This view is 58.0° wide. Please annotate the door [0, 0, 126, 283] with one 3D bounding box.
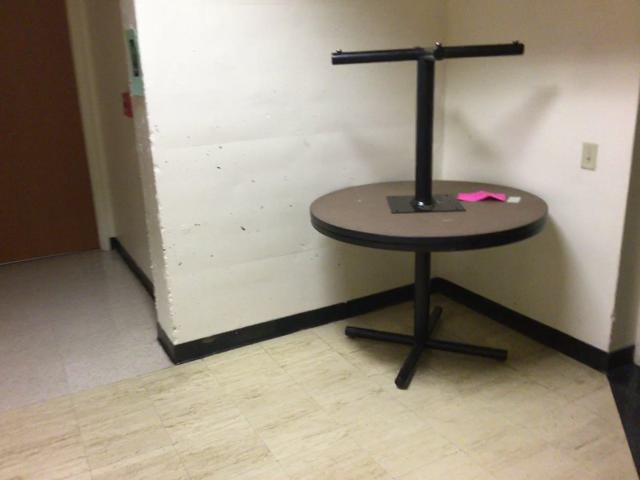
[{"bbox_3d":[-2.310,-0.940,3.680,1.720,2.450,0.520,-10,20,-26],"label":"door"}]
